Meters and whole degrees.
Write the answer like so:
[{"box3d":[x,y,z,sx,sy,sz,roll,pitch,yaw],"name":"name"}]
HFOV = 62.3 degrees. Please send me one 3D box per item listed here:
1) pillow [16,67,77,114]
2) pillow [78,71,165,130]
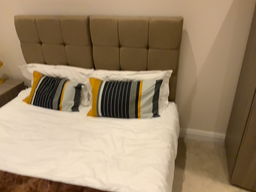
[{"box3d":[-0.770,-0.060,1.990,0.540,0.300,0.110,17,-3,22],"name":"pillow"},{"box3d":[-0.050,0.030,1.780,0.650,0.310,0.150,16,2,7],"name":"pillow"}]
